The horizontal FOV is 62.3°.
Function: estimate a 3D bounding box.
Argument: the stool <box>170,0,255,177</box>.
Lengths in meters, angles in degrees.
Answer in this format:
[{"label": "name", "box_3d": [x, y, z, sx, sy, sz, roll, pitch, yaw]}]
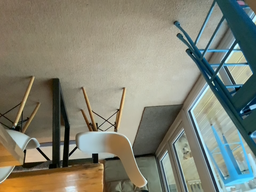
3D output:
[{"label": "stool", "box_3d": [0.580, -0.210, 1.010, 0.390, 1.000, 0.430, -3, 146, -11]}]
